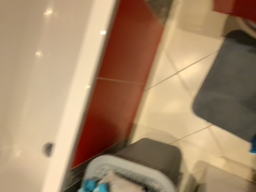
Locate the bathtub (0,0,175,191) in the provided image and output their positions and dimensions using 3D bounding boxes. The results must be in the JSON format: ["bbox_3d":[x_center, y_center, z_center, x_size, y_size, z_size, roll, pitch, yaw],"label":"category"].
[{"bbox_3d":[-0.290,-0.190,0.950,0.670,0.570,1.470,21,98,18],"label":"bathtub"}]
